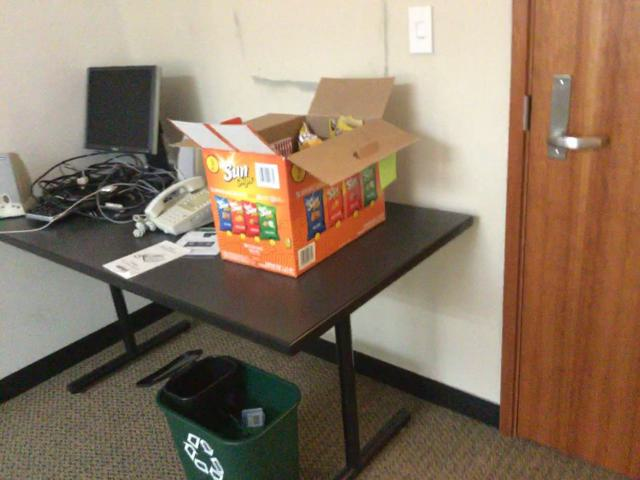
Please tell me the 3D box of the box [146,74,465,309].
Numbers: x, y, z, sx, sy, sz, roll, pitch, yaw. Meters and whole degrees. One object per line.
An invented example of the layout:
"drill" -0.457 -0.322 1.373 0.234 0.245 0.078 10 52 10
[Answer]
"box" 0.000 -0.190 1.500 0.460 0.420 0.680 13 24 38
